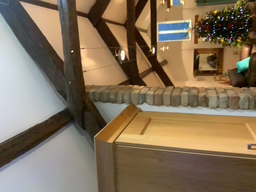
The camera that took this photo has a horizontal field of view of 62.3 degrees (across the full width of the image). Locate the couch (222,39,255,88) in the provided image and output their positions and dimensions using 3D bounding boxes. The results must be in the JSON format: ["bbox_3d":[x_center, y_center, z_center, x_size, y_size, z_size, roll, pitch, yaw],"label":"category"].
[{"bbox_3d":[3.060,-0.870,5.490,1.240,0.930,0.900,-59,-33,-59],"label":"couch"}]
